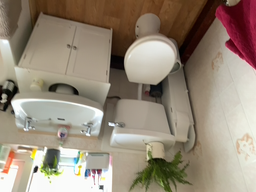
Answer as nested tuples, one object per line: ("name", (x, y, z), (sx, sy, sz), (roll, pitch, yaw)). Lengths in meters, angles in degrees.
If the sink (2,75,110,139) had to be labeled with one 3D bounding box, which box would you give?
("sink", (-0.460, 0.100, 1.460), (0.610, 0.210, 0.370), (8, 144, -12))
